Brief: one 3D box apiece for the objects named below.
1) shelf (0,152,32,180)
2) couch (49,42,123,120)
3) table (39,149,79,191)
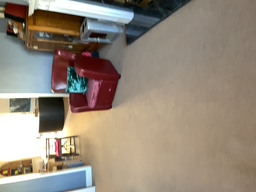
[{"bbox_3d":[-3.790,2.270,6.870,0.750,1.200,0.630,-14,77,61],"label":"shelf"},{"bbox_3d":[-0.700,-0.230,3.260,0.860,0.810,0.760,60,140,43],"label":"couch"},{"bbox_3d":[-1.880,1.930,5.630,1.400,0.760,0.830,-14,77,61],"label":"table"}]
